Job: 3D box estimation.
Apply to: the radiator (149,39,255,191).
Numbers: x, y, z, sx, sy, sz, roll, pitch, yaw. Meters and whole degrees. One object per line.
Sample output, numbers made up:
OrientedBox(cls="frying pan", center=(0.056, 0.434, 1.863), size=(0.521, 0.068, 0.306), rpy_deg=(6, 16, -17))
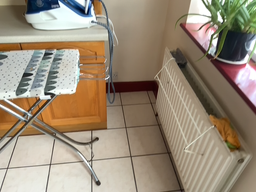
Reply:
OrientedBox(cls="radiator", center=(0.350, 0.160, 1.420), size=(0.110, 0.670, 1.060), rpy_deg=(-3, 39, -8))
